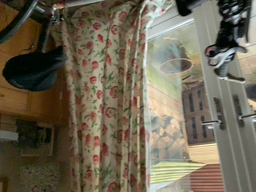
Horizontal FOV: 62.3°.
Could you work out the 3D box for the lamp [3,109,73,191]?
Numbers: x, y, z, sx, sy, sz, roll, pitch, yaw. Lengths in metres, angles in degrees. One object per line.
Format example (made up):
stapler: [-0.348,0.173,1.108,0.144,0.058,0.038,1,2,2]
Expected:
lamp: [-0.700,0.480,1.700,0.330,0.640,0.350,-15,158,32]

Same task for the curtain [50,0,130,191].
curtain: [-0.250,0.530,1.360,0.460,2.610,0.250,-17,157,36]
